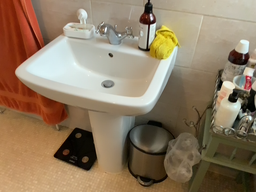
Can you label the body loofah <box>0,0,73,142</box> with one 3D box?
[{"bbox_3d":[-0.760,-0.380,1.200,0.700,1.550,0.140,16,43,15],"label":"body loofah"}]
